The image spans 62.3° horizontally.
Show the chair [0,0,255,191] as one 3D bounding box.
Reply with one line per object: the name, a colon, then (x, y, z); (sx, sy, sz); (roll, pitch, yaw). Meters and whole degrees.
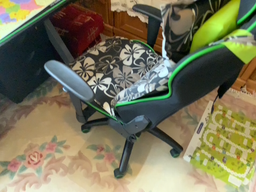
chair: (0.020, -0.180, 1.000); (0.930, 1.240, 0.670); (38, 60, 22)
